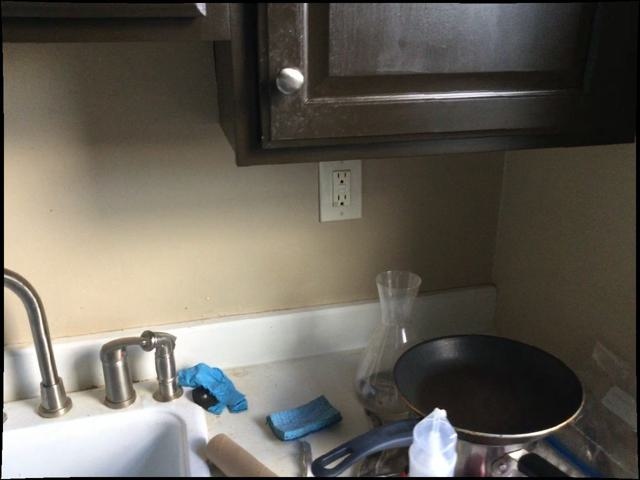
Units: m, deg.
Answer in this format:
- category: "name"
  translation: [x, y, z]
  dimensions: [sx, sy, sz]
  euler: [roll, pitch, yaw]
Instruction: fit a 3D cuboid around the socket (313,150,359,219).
- category: "socket"
  translation: [0.030, -0.100, 1.050]
  dimensions: [0.080, 0.120, 0.010]
  euler: [-7, 23, -12]
